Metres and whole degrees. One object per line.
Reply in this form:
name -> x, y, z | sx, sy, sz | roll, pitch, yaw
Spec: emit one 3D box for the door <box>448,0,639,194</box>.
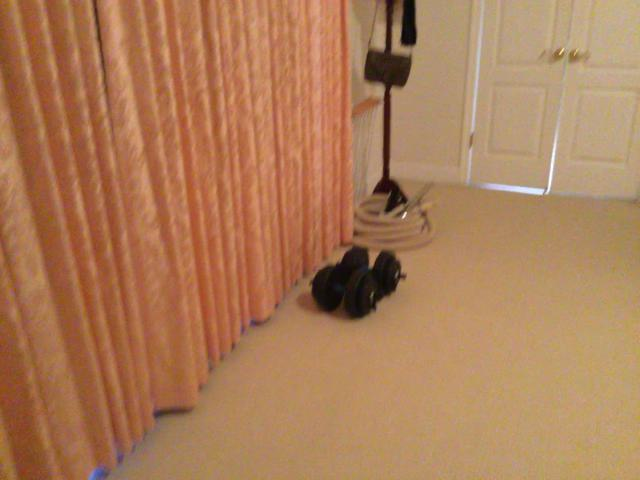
door -> 1.470, -1.310, 3.450 | 1.250, 2.010, 0.120 | 9, 27, 22
